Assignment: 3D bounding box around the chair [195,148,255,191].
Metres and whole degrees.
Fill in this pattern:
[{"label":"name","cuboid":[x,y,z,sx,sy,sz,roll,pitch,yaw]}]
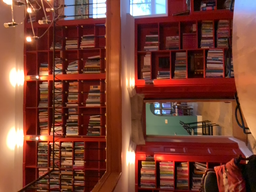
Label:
[{"label":"chair","cuboid":[1.660,1.300,3.250,0.890,1.030,0.610,80,-168,-49]}]
